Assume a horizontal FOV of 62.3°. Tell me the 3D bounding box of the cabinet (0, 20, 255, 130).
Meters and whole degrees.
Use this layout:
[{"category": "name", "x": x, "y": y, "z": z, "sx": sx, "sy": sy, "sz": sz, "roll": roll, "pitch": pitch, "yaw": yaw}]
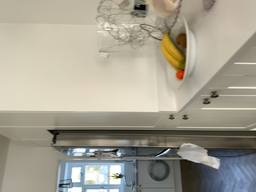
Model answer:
[{"category": "cabinet", "x": 0.030, "y": -0.100, "z": 1.570, "sx": 0.550, "sy": 2.290, "sz": 0.620, "roll": 101, "pitch": 169, "yaw": -71}]
